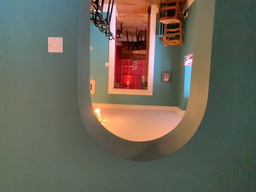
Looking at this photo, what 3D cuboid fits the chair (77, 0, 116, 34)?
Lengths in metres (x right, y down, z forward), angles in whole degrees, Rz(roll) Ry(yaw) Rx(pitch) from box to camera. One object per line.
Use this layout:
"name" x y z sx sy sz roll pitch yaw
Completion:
"chair" -0.530 -1.580 3.690 0.570 0.890 0.500 2 -172 2

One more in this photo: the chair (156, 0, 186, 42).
"chair" 0.920 -1.630 4.530 0.420 0.880 0.490 8 -170 35
